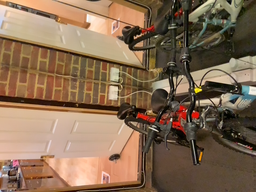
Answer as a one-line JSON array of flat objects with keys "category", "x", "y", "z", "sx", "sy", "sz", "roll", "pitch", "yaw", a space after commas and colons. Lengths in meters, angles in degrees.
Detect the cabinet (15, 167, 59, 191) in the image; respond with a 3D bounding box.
[{"category": "cabinet", "x": -2.580, "y": 2.410, "z": 6.000, "sx": 0.860, "sy": 0.990, "sz": 0.610, "roll": -15, "pitch": 70, "yaw": 60}]
